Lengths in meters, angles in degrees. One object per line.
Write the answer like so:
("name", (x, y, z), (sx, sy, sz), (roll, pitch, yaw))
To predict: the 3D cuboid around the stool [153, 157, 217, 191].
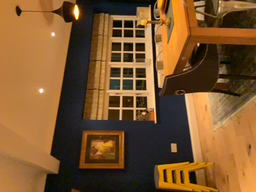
("stool", (0.810, 1.180, 3.160), (0.360, 0.820, 0.450), (94, 176, -63))
